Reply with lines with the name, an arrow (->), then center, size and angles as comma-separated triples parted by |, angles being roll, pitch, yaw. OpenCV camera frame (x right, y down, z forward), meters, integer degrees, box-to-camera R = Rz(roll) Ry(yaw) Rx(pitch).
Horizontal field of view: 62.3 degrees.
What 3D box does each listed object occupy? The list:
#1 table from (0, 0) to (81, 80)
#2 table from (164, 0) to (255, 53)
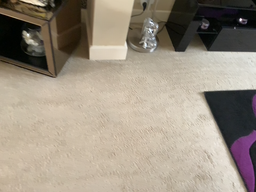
table -> -0.650, -0.510, 1.430 | 0.510, 0.460, 0.500 | 17, 53, -1
table -> 1.400, -0.710, 2.020 | 2.030, 0.420, 0.410 | -2, 56, -15
